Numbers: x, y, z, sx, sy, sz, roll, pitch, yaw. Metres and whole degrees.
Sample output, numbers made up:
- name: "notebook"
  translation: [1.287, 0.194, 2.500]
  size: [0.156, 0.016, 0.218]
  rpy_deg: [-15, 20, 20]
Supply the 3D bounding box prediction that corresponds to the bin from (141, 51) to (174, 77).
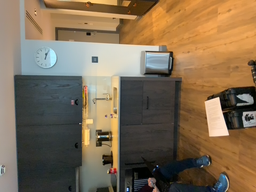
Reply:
- name: "bin"
  translation: [0.450, -0.500, 3.310]
  size: [0.240, 0.420, 0.380]
  rpy_deg: [-138, 49, -73]
